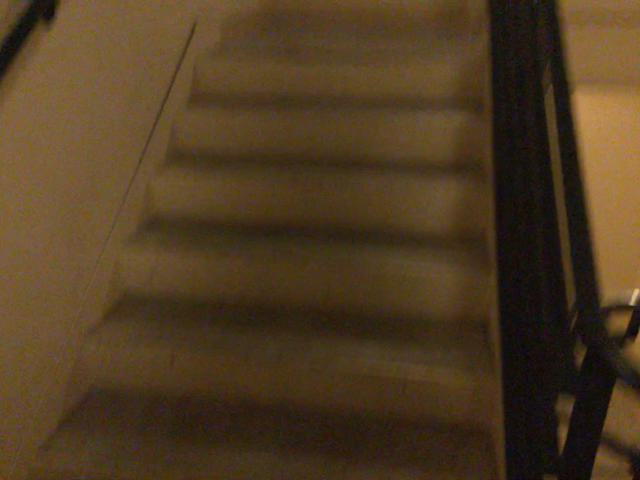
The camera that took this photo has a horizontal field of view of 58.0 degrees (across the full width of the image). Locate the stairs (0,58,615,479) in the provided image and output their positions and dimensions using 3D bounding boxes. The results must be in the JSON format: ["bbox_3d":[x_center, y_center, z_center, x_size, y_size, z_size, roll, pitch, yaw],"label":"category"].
[{"bbox_3d":[-0.080,0.150,1.760,1.170,0.920,1.710,2,32,8],"label":"stairs"}]

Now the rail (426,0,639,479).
[{"bbox_3d":[0.560,0.230,1.760,0.280,2.840,1.780,2,32,8],"label":"rail"}]
